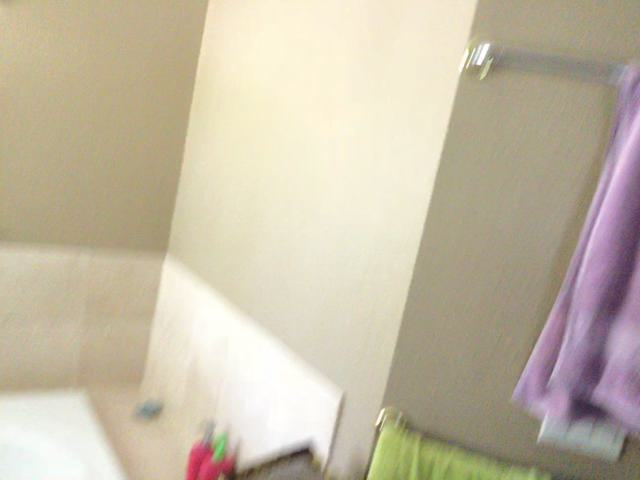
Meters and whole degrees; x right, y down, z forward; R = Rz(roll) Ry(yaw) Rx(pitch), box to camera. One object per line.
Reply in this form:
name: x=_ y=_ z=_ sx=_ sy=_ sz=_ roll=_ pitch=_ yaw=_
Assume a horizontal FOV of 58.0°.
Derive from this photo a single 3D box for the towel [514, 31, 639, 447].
towel: x=0.600 y=-0.010 z=1.060 sx=0.190 sy=0.690 sz=0.260 roll=7 pitch=7 yaw=-38
